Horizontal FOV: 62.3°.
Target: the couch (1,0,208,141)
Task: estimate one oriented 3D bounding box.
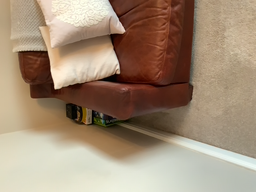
[{"bbox_3d":[-0.190,-0.910,1.230,1.010,0.820,1.950,11,104,48],"label":"couch"}]
